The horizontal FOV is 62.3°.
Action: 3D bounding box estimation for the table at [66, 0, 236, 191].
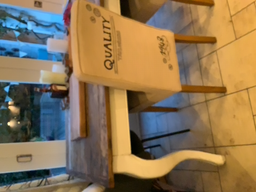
[{"bbox_3d":[0.020,-0.310,1.650,0.870,0.790,1.780,-28,64,59],"label":"table"}]
